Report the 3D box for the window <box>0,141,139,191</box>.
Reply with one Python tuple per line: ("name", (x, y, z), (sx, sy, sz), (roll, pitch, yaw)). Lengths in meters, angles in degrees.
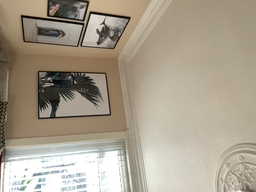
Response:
("window", (-0.700, 1.510, 2.820), (0.270, 1.770, 1.630), (132, -46, -59))
